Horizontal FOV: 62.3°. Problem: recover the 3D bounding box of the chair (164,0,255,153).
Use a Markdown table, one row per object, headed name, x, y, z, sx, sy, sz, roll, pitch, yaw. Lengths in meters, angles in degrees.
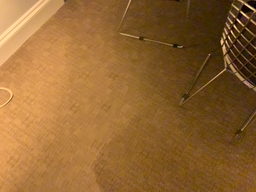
| name | x | y | z | sx | sy | sz | roll | pitch | yaw |
| --- | --- | --- | --- | --- | --- | --- | --- | --- | --- |
| chair | 0.600 | -0.170 | 0.970 | 0.440 | 0.710 | 0.590 | 41 | 70 | 13 |
